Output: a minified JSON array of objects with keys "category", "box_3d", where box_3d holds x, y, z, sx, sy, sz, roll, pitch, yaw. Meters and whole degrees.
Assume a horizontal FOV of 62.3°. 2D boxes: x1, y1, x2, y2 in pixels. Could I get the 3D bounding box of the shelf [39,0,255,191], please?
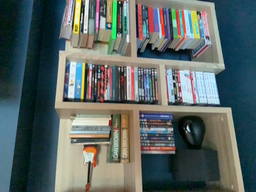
[{"category":"shelf","box_3d":[0.080,-0.100,1.220,0.950,1.830,0.340,3,163,-12]}]
